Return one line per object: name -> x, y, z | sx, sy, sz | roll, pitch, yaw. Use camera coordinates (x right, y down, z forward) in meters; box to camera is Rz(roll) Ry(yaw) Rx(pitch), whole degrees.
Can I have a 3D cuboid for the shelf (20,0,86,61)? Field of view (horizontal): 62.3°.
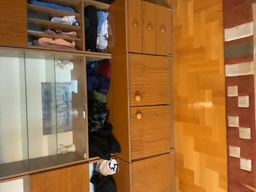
shelf -> -0.630, -0.570, 1.790 | 0.280, 0.450, 0.480 | 1, 93, 55
